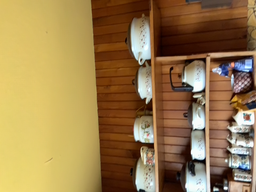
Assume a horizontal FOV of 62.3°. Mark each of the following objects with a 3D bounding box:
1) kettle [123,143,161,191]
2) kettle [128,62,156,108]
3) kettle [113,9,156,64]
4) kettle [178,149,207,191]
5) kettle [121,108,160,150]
[{"bbox_3d":[0.100,0.480,1.350,0.210,0.180,0.280,-26,-66,-68],"label":"kettle"},{"bbox_3d":[0.090,-0.070,1.270,0.220,0.110,0.250,-15,-76,-70],"label":"kettle"},{"bbox_3d":[0.050,-0.330,1.250,0.250,0.180,0.260,-12,-79,-70],"label":"kettle"},{"bbox_3d":[0.380,0.480,1.230,0.260,0.140,0.240,-29,-63,-68],"label":"kettle"},{"bbox_3d":[0.080,0.190,1.290,0.180,0.190,0.210,-17,-74,-70],"label":"kettle"}]
